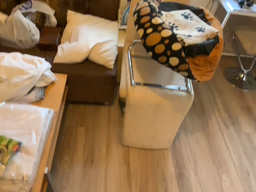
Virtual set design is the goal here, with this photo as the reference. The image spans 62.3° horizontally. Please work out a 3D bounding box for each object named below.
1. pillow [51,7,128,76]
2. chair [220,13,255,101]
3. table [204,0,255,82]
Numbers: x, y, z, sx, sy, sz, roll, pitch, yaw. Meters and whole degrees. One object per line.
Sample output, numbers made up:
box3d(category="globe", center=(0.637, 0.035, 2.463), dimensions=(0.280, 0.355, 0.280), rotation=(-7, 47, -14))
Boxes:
box3d(category="pillow", center=(-0.260, -0.420, 1.600), dimensions=(0.490, 0.200, 0.500), rotation=(6, 48, -7))
box3d(category="chair", center=(1.240, -0.410, 1.940), dimensions=(0.340, 0.890, 0.380), rotation=(13, 48, 0))
box3d(category="table", center=(1.330, -0.550, 2.220), dimensions=(0.710, 0.680, 0.420), rotation=(5, 49, -7))
